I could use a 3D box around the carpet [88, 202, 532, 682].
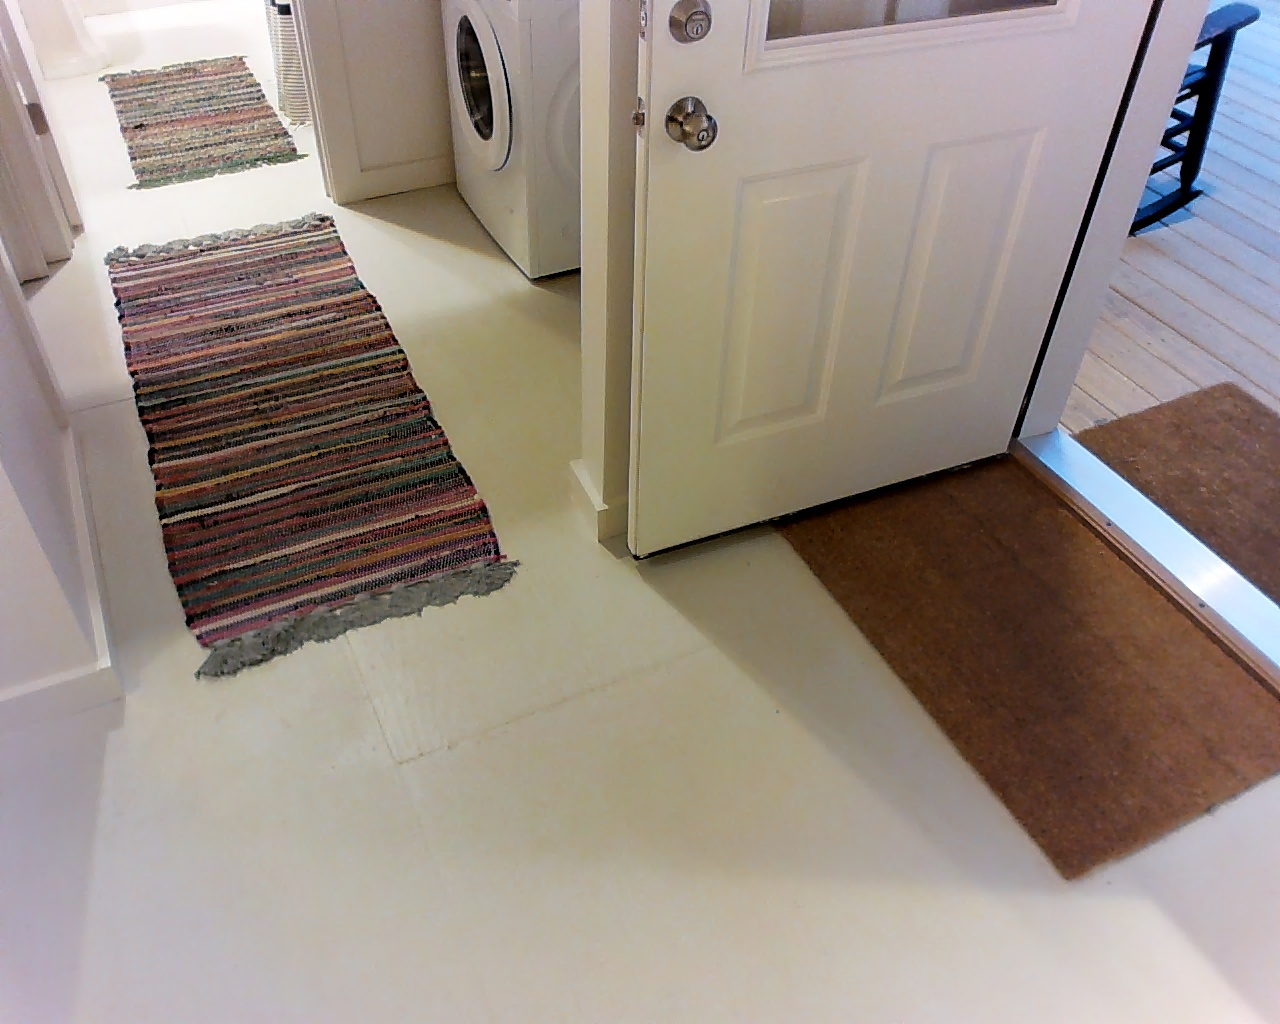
[{"bbox_3d":[-0.900,-0.320,2.640,0.710,0.040,1.690,-17,45,-19],"label":"carpet"}]
